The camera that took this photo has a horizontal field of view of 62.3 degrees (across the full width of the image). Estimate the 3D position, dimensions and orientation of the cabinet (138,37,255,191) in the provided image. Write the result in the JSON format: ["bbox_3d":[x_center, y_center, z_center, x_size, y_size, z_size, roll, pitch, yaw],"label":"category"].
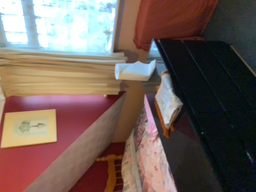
[{"bbox_3d":[0.670,0.240,1.590,0.490,0.760,1.600,105,157,-46],"label":"cabinet"}]
